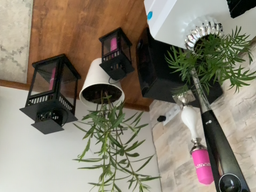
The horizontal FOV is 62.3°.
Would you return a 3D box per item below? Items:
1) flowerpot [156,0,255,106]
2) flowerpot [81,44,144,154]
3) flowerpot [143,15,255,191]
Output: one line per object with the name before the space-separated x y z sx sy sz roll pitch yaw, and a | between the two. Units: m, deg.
flowerpot | 0.320 -0.210 0.810 0.310 0.390 0.200 15 139 -25
flowerpot | -0.120 0.020 1.370 0.230 0.560 0.380 14 139 -23
flowerpot | 0.330 0.000 1.080 0.340 0.910 0.230 14 139 -23
